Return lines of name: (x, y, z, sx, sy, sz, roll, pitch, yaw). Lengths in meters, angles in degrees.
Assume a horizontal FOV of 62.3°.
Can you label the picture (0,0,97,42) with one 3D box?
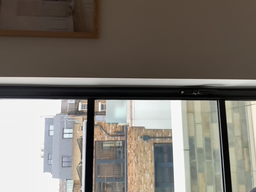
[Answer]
picture: (-0.350, -0.410, 0.900, 0.030, 0.430, 0.350, 131, 139, -82)
